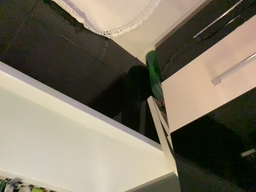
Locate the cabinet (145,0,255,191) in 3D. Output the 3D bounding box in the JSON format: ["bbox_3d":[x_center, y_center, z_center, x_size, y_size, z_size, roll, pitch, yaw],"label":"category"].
[{"bbox_3d":[0.550,-0.090,0.840,0.410,0.910,0.850,32,128,-30],"label":"cabinet"}]

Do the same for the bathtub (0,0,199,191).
[{"bbox_3d":[-0.550,-0.020,1.100,1.700,0.620,0.850,32,128,-30],"label":"bathtub"}]
